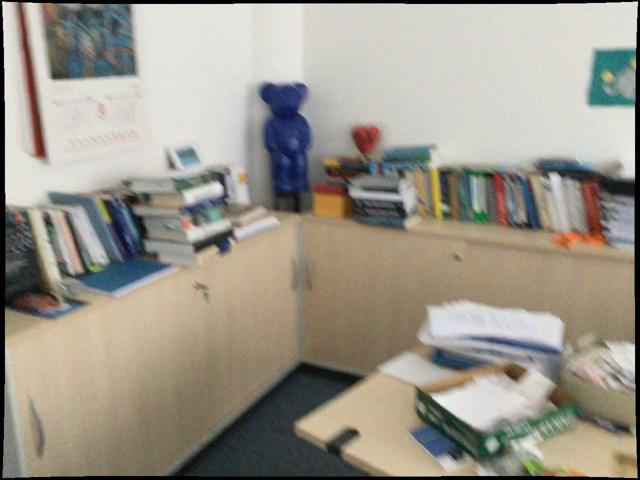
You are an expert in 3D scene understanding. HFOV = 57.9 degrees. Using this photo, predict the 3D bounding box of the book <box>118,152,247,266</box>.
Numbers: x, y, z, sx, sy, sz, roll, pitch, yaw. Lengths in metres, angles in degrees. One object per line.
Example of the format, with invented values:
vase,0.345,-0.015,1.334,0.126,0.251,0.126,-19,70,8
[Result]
book,-0.499,-0.130,2.160,0.310,0.330,0.320,9,20,26

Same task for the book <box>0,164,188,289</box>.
book,-0.789,-0.080,2.090,0.230,0.270,0.640,9,20,26

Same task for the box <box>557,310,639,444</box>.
box,0.759,0.330,1.430,0.270,0.140,0.360,9,20,26

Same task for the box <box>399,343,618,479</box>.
box,0.430,0.390,1.370,0.370,0.090,0.320,-8,19,-21

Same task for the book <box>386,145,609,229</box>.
book,0.779,-0.260,2.620,0.919,0.250,0.240,9,20,26

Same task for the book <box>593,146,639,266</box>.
book,1.309,-0.140,2.300,0.290,0.400,0.350,12,22,35

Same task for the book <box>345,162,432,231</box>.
book,0.320,-0.210,2.670,0.310,0.230,0.290,9,20,26
